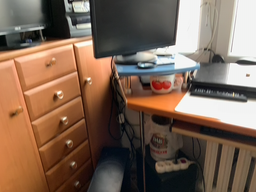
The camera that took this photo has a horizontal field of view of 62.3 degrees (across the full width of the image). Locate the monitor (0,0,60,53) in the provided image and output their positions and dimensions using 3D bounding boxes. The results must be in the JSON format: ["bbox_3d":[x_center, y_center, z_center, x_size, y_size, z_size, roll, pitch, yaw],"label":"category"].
[{"bbox_3d":[-0.500,-0.400,0.900,0.050,0.350,0.430,9,33,25],"label":"monitor"}]

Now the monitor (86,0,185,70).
[{"bbox_3d":[0.070,-0.380,1.080,0.540,0.370,0.050,-20,31,-25],"label":"monitor"}]
